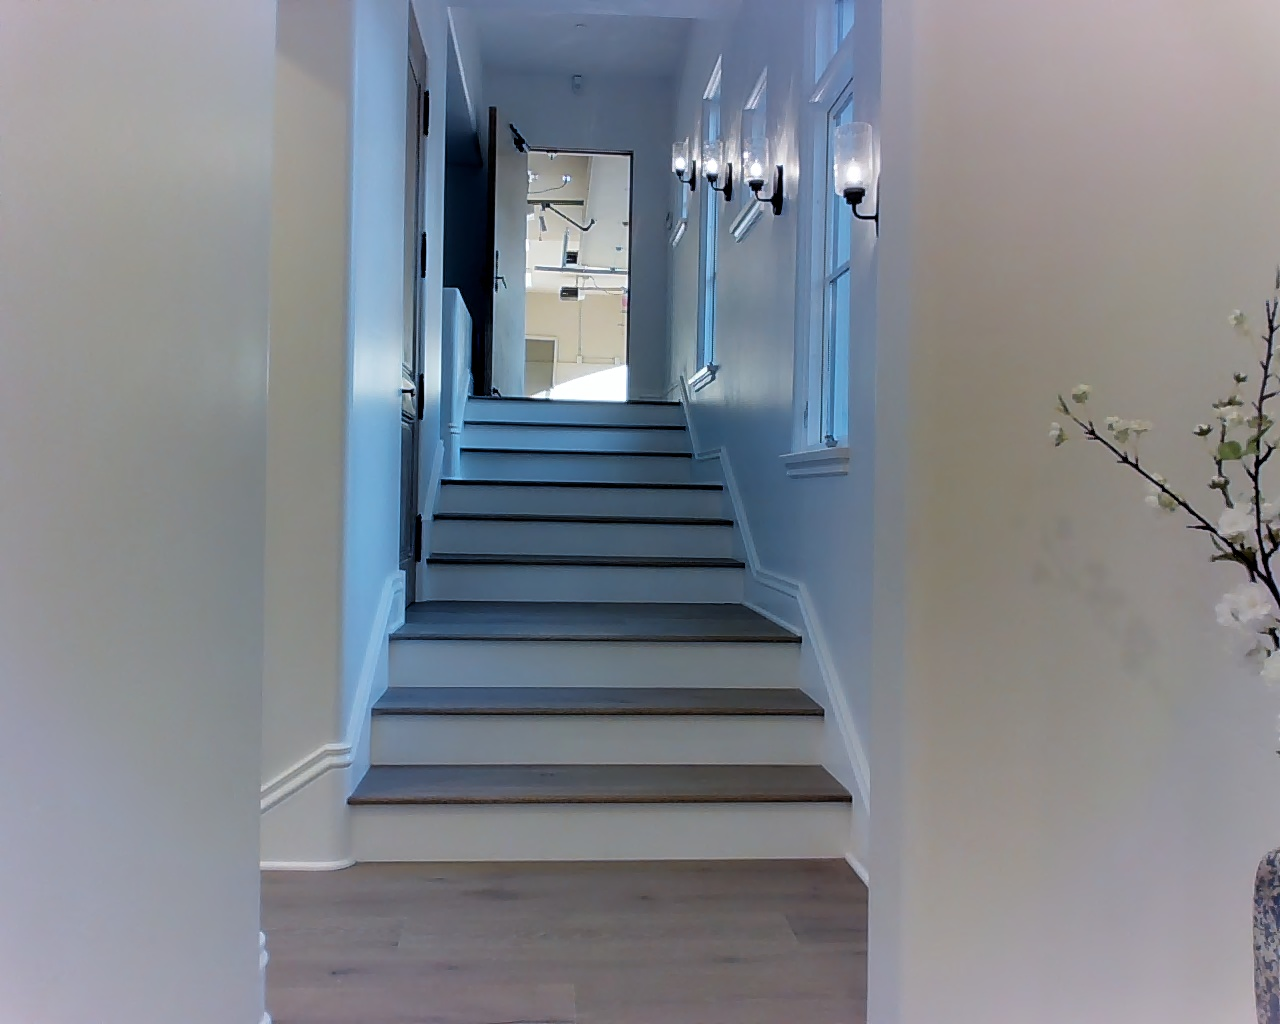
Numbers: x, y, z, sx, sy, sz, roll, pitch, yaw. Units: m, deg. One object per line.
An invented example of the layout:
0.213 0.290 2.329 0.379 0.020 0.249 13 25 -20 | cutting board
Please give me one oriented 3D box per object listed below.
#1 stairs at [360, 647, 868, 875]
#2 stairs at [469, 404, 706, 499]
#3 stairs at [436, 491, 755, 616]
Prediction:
-0.090 0.760 3.460 1.460 0.550 0.740 1 0 -4 | stairs
-0.350 -0.380 7.100 1.480 0.570 0.730 1 0 -4 | stairs
-0.220 0.190 5.240 1.450 0.560 0.710 1 0 -4 | stairs
